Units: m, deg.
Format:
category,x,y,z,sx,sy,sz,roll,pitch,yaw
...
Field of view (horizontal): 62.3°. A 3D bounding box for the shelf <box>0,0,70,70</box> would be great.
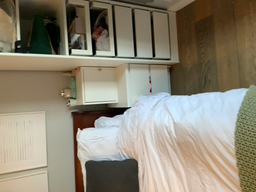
category,x,y,z,sx,sy,sz,roll,pitch,yaw
shelf,-1.170,-0.520,1.500,0.600,1.350,0.540,-5,87,61
